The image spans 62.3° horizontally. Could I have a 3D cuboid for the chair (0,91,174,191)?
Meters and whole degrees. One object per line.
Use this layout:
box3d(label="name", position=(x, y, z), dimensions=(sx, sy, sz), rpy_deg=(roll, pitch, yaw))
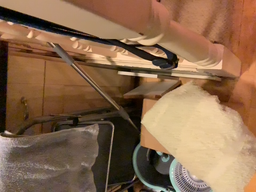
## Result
box3d(label="chair", position=(-0.220, 0.240, 1.030), dimensions=(0.490, 0.910, 0.440), rpy_deg=(14, 99, 33))
